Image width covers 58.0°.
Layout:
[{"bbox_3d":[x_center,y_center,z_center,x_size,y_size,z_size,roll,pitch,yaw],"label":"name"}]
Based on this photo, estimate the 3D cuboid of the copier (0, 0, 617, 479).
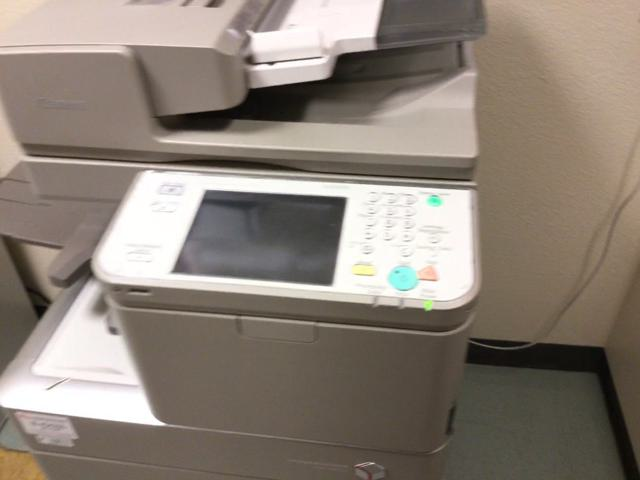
[{"bbox_3d":[-0.080,0.150,1.090,0.720,1.190,0.720,3,37,8],"label":"copier"}]
